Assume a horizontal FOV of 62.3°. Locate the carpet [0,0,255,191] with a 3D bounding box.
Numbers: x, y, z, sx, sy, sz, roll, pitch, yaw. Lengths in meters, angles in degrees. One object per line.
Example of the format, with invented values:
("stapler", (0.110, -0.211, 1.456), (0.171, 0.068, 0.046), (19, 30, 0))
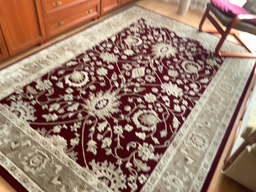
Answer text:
("carpet", (0.140, -0.290, 2.190), (2.040, 0.060, 2.950), (31, 48, 20))
